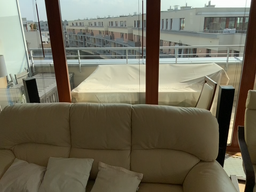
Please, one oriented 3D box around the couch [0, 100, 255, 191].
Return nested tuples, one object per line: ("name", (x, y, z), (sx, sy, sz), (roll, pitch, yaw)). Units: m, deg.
("couch", (-0.280, 0.670, 1.570), (2.040, 1.000, 0.890), (1, 19, 7))
